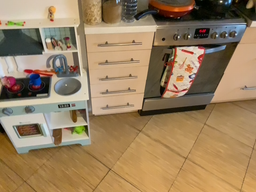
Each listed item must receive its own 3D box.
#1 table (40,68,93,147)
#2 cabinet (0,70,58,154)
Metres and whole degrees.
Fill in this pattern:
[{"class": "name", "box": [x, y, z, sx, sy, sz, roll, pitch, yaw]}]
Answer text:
[{"class": "table", "box": [-0.400, 0.090, 1.480, 0.270, 0.490, 0.280, -4, 46, -10]}, {"class": "cabinet", "box": [-0.670, 0.120, 1.430, 0.280, 0.490, 0.300, -4, 46, -10]}]
